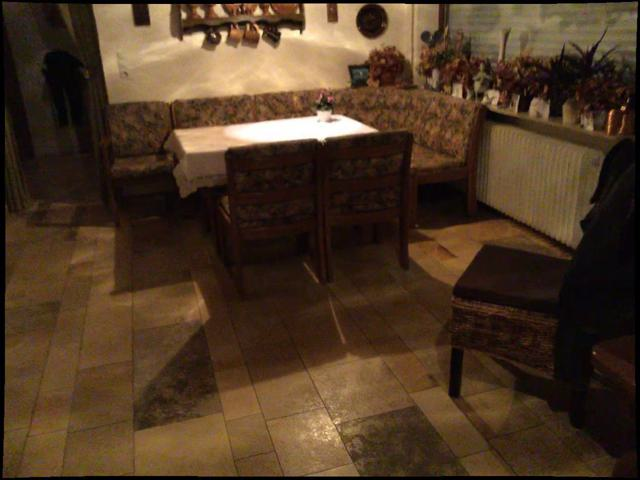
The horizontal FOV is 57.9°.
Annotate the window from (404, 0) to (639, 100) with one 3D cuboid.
[{"bbox_3d":[1.299,-1.672,3.850,0.460,1.041,2.610,-9,23,-14],"label":"window"}]

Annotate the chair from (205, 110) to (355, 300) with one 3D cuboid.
[{"bbox_3d":[-0.240,-0.240,3.370,0.679,0.861,0.660,-9,23,-14],"label":"chair"}]

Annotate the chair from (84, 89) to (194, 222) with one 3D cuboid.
[{"bbox_3d":[-1.409,-0.691,4.580,0.649,0.851,0.630,-9,23,-14],"label":"chair"}]

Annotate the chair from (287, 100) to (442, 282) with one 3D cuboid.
[{"bbox_3d":[0.250,-0.330,3.500,0.699,0.861,0.670,-9,23,-14],"label":"chair"}]

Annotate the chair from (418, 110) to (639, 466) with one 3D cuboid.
[{"bbox_3d":[0.859,0.100,2.180,0.759,1.011,0.720,9,26,26],"label":"chair"}]
